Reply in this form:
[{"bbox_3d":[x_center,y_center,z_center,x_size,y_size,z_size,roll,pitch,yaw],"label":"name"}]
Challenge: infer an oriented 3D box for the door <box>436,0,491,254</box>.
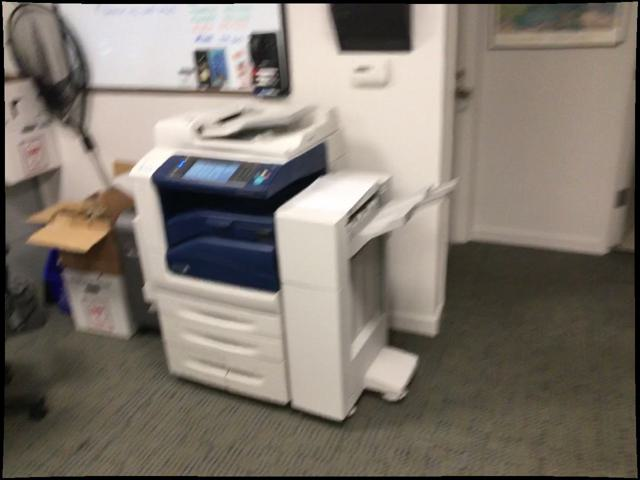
[{"bbox_3d":[0.759,-0.891,2.990,0.130,1.852,0.580,7,27,21],"label":"door"}]
